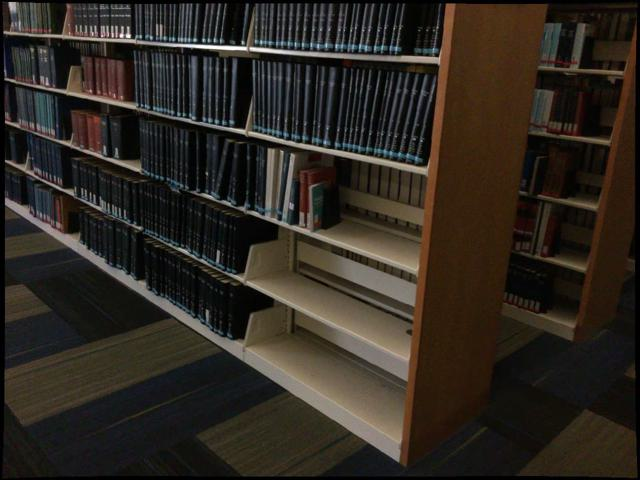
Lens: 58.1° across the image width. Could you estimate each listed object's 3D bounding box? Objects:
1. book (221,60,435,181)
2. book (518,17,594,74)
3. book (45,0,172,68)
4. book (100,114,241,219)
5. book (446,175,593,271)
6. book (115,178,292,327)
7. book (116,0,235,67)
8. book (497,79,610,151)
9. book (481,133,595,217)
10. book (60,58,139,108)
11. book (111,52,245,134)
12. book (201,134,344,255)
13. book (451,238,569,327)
[{"bbox_3d":[-0.030,-0.471,2.120,0.090,0.321,0.989,-17,27,-42],"label":"book"},{"bbox_3d":[1.197,-0.993,2.930,0.170,0.261,0.280,-17,27,-42],"label":"book"},{"bbox_3d":[-1.187,-1.133,3.140,0.120,0.311,1.199,-17,27,-42],"label":"book"},{"bbox_3d":[-0.758,-0.391,2.840,0.210,0.341,0.919,-17,27,-42],"label":"book"},{"bbox_3d":[1.127,-0.120,3.300,0.439,0.331,0.629,-17,27,-42],"label":"book"},{"bbox_3d":[-0.618,0.010,2.840,0.190,0.391,1.219,-17,27,-42],"label":"book"},{"bbox_3d":[-0.678,-0.952,2.630,0.110,0.271,0.799,-17,27,-42],"label":"book"},{"bbox_3d":[1.227,-0.672,3.040,0.380,0.301,0.390,-17,27,-42],"label":"book"},{"bbox_3d":[1.177,-0.371,3.140,0.310,0.341,0.450,-17,27,-42],"label":"book"},{"bbox_3d":[-1.317,-0.942,3.410,0.110,0.231,0.759,-17,27,-42],"label":"book"},{"bbox_3d":[-0.678,-0.702,2.670,0.180,0.291,0.839,-17,27,-42],"label":"book"},{"bbox_3d":[-0.219,-0.221,2.470,0.230,0.361,0.649,-17,27,-42],"label":"book"},{"bbox_3d":[1.107,0.231,3.390,0.350,0.301,0.519,-17,27,-42],"label":"book"}]
